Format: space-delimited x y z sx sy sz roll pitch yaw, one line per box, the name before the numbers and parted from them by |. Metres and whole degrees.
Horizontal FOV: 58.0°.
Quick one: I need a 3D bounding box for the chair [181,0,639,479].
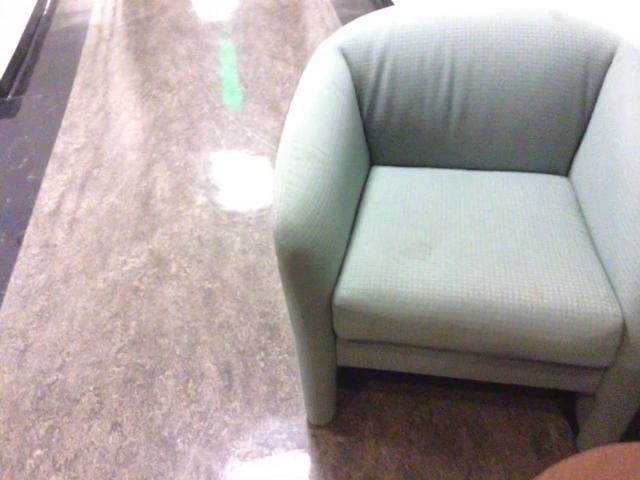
chair | 0.340 -0.050 1.420 0.950 0.820 0.970 3 37 7
